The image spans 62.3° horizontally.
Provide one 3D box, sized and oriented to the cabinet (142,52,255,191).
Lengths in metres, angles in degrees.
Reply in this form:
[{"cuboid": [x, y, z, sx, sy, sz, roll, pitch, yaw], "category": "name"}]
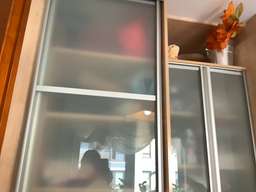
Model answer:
[{"cuboid": [0.450, 0.280, 1.400, 0.630, 1.000, 0.350, 5, -17, -11], "category": "cabinet"}]
